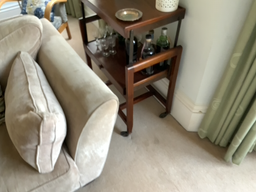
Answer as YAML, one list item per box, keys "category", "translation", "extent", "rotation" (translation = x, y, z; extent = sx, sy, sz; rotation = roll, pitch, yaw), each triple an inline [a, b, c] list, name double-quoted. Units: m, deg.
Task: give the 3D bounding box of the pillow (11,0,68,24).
- category: "pillow"
  translation: [-0.940, -0.990, 2.240]
  extent: [0.450, 0.400, 0.130]
  rotation: [-22, 71, 40]

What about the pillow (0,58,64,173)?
- category: "pillow"
  translation: [-0.560, 0.080, 1.080]
  extent: [0.140, 0.310, 0.560]
  rotation: [-37, 53, -2]
